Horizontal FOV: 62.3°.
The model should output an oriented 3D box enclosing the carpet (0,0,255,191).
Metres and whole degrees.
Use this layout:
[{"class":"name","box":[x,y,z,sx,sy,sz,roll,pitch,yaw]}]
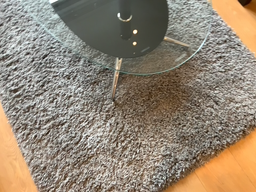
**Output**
[{"class":"carpet","box":[-0.130,-0.340,1.130,1.230,0.070,1.720,-29,76,-8]}]
